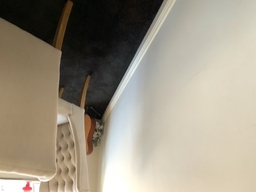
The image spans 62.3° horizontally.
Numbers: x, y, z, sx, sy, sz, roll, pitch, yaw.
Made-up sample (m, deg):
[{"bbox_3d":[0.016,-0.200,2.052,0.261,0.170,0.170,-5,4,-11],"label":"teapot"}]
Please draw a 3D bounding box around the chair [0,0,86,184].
[{"bbox_3d":[-0.720,-0.130,1.100,0.820,1.030,0.540,-24,145,38],"label":"chair"}]
